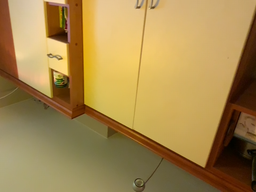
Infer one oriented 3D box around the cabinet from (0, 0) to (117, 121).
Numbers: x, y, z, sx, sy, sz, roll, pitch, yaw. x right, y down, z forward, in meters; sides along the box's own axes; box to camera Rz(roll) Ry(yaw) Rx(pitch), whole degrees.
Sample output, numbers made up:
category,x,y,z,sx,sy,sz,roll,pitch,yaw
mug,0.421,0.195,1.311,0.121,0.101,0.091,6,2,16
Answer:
category,x,y,z,sx,sy,sz,roll,pitch,yaw
cabinet,-0.580,-0.420,1.410,0.970,0.770,0.360,23,-150,31
